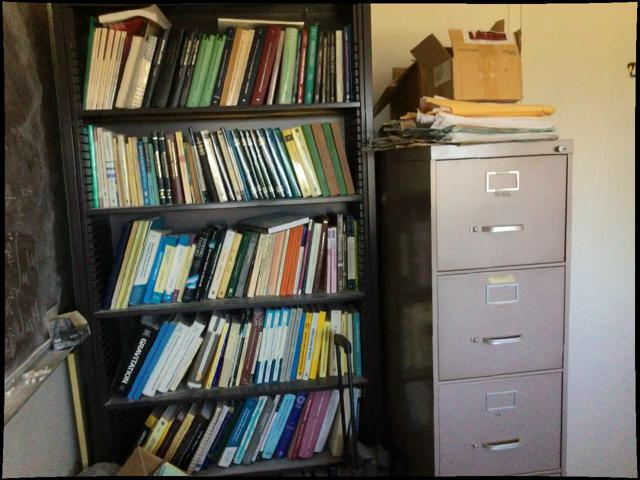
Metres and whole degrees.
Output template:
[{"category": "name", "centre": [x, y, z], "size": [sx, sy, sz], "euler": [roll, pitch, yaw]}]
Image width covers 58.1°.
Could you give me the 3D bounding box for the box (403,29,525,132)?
[{"category": "box", "centre": [0.399, -0.441, 1.630], "size": [0.269, 0.251, 0.210], "euler": [-3, 8, -9]}]
